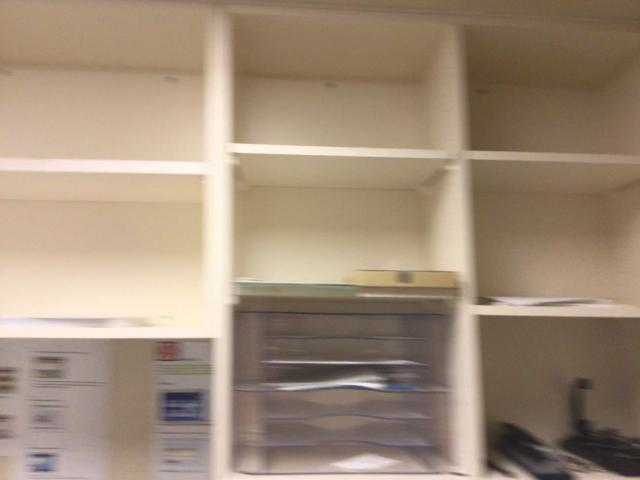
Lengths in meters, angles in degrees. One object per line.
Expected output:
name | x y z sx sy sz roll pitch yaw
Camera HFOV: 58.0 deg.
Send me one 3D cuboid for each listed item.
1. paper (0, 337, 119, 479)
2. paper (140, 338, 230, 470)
paper | -0.700 0.470 1.340 0.400 0.480 0.070 1 -13 -3
paper | -0.320 0.390 1.390 0.190 0.300 0.030 1 -13 -3
